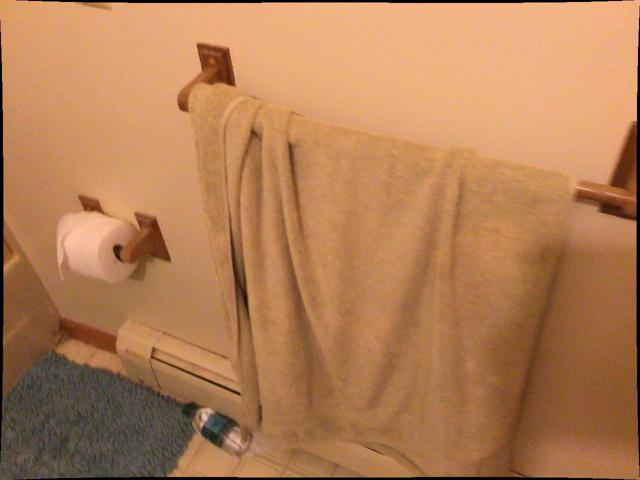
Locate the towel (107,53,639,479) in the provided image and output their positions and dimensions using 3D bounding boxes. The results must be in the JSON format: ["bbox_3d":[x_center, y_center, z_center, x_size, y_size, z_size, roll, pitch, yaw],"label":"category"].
[{"bbox_3d":[0.070,0.170,0.980,0.600,0.850,0.200,16,48,18],"label":"towel"}]

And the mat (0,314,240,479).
[{"bbox_3d":[-0.689,0.651,1.320,0.620,0.100,0.970,14,48,17],"label":"mat"}]
